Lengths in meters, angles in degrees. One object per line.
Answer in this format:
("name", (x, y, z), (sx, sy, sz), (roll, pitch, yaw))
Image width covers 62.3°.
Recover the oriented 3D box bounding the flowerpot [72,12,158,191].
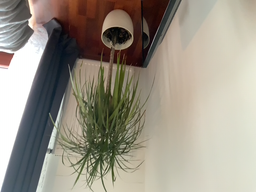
("flowerpot", (-0.110, 0.060, 1.620), (0.440, 1.200, 0.600), (8, 151, -12))
